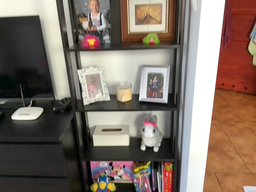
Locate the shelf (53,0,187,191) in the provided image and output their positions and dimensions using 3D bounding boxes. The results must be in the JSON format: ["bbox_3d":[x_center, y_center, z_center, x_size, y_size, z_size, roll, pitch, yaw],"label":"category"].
[{"bbox_3d":[-0.010,0.080,1.370,0.630,1.530,0.300,0,22,4],"label":"shelf"}]

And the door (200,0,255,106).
[{"bbox_3d":[1.630,-1.190,3.040,0.910,2.670,0.130,15,28,35],"label":"door"}]

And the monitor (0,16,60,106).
[{"bbox_3d":[-0.940,-0.200,1.350,0.930,0.550,0.050,0,22,4],"label":"monitor"}]
